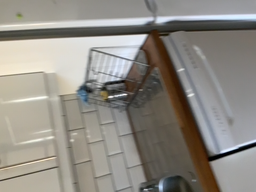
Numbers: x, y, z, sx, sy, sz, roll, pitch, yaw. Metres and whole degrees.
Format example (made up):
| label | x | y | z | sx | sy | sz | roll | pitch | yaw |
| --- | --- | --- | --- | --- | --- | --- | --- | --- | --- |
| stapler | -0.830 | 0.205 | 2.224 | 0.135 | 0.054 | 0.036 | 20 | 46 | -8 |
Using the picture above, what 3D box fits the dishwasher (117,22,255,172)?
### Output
| label | x | y | z | sx | sy | sz | roll | pitch | yaw |
| --- | --- | --- | --- | --- | --- | --- | --- | --- | --- |
| dishwasher | 0.520 | 0.000 | 1.320 | 0.610 | 0.930 | 0.620 | 125 | 132 | -60 |
